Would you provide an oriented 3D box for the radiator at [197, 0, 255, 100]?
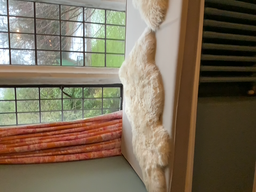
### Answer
[{"bbox_3d":[0.720,-0.450,1.250,0.130,0.600,0.920,-164,74,-69],"label":"radiator"}]

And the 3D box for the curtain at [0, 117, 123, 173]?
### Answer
[{"bbox_3d":[-0.630,0.380,1.720,0.150,1.200,0.330,-173,83,-69],"label":"curtain"}]
